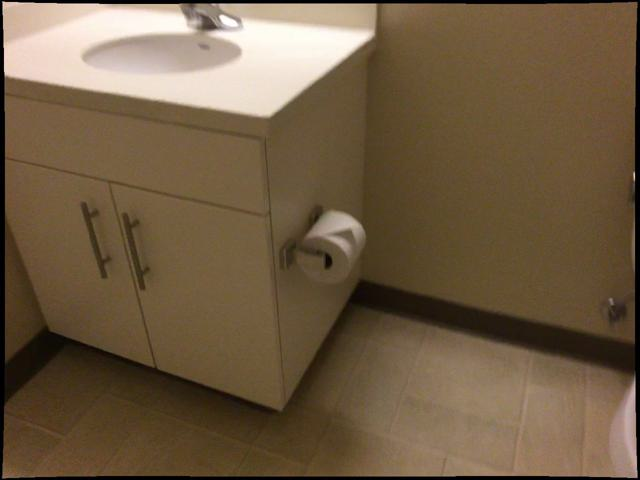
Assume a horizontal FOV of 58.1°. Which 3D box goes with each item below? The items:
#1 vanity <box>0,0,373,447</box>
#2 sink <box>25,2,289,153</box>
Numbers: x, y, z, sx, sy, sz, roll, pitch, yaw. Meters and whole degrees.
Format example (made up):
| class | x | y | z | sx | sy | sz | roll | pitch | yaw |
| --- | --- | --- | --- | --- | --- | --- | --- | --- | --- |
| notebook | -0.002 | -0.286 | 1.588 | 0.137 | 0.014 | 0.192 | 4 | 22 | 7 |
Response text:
| class | x | y | z | sx | sy | sz | roll | pitch | yaw |
| --- | --- | --- | --- | --- | --- | --- | --- | --- | --- |
| vanity | -0.339 | -0.100 | 1.530 | 0.808 | 0.962 | 0.580 | 11 | 37 | 18 |
| sink | -0.349 | -0.411 | 1.370 | 0.389 | 0.170 | 0.470 | 11 | 37 | 18 |
